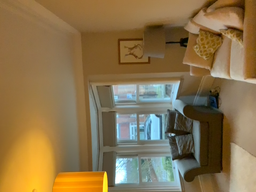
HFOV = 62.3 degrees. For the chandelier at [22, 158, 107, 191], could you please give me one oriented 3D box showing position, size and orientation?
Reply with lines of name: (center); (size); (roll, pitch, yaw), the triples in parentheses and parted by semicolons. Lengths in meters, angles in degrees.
chandelier: (-0.670, 1.070, 2.470); (0.640, 0.770, 0.440); (-87, 176, -83)
